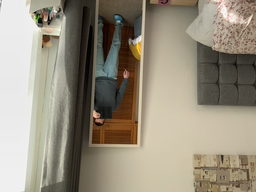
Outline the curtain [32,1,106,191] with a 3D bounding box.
[{"bbox_3d":[-0.370,0.390,1.480,0.330,1.920,0.570,1,170,-2],"label":"curtain"}]
